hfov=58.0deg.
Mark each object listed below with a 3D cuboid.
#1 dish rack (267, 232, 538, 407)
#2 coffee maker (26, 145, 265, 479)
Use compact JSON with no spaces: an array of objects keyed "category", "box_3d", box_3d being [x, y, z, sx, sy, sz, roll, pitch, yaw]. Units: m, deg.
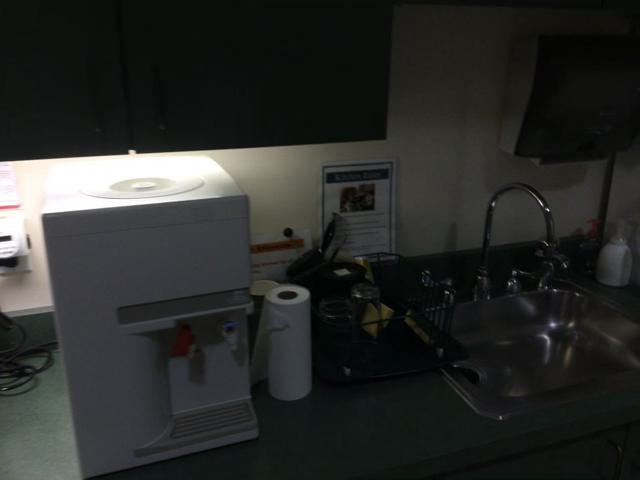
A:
[{"category":"dish rack","box_3d":[0.160,0.150,1.330,0.480,0.190,0.390,-5,20,-19]},{"category":"coffee maker","box_3d":[-0.310,0.090,1.070,0.320,0.450,0.430,-5,20,-19]}]
